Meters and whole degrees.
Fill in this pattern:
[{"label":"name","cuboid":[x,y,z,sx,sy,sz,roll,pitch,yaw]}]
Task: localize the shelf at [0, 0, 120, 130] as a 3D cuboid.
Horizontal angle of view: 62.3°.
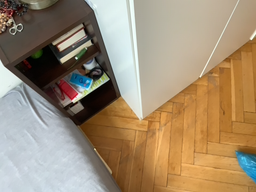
[{"label":"shelf","cuboid":[-0.300,-0.140,1.000,0.300,0.710,0.330,-37,70,-9]}]
